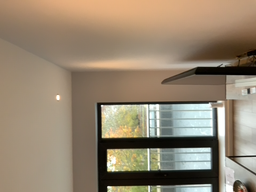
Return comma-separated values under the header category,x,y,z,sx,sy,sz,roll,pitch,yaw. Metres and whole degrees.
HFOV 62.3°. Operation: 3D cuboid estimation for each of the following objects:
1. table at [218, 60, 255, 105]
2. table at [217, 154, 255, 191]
category,x,y,z,sx,sy,sz,roll,pitch,yaw
table,1.340,-0.120,2.100,1.010,0.440,0.400,-178,87,-89
table,1.360,1.020,2.160,1.060,0.440,0.540,-133,42,-88
